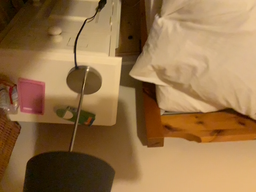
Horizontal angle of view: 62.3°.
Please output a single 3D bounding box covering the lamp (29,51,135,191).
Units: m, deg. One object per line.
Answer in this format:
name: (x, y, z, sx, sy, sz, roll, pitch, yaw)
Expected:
lamp: (-0.120, 0.140, 0.540, 0.180, 0.460, 0.240, 17, 133, -18)
